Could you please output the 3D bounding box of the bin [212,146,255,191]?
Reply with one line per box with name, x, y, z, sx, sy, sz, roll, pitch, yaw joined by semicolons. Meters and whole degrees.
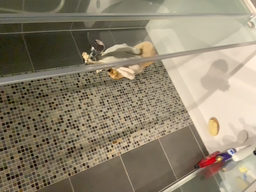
bin;0.770;0.470;1.280;0.290;0.310;0.250;-44;66;53
